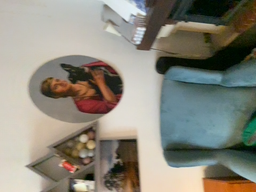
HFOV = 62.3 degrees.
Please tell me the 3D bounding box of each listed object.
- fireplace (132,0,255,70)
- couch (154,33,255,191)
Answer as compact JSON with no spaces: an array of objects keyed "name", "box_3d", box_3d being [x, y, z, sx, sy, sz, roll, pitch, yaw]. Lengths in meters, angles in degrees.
[{"name":"fireplace","box_3d":[0.750,-0.850,1.570,1.320,1.180,0.710,120,151,-67]},{"name":"couch","box_3d":[0.820,0.150,1.430,1.000,0.980,0.750,176,96,-79]}]
